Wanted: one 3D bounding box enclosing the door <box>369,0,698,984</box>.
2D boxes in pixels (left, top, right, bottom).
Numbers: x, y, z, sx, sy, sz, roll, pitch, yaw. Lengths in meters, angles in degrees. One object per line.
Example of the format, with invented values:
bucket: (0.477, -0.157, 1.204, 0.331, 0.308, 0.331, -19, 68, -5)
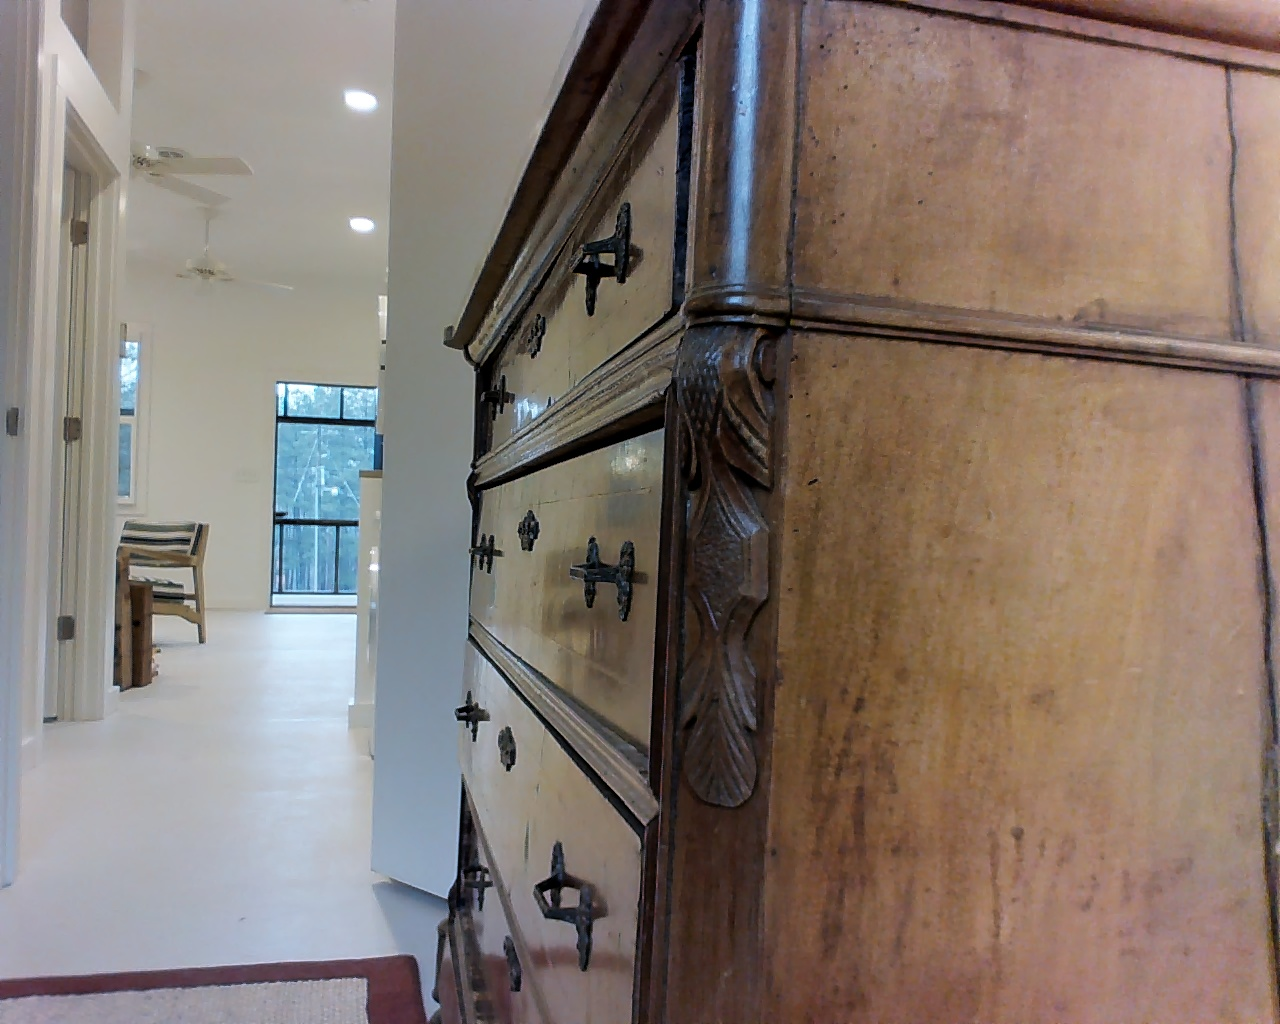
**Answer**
door: (-0.230, -0.280, 2.020, 0.800, 2.070, 0.040, 0, -2, 41)
